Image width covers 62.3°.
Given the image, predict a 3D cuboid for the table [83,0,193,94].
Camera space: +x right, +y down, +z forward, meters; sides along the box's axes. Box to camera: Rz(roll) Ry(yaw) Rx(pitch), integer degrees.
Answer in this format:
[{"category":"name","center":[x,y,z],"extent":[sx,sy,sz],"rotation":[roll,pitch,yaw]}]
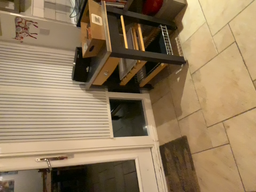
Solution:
[{"category":"table","center":[0.040,-0.440,2.210],"extent":[0.790,0.790,0.530],"rotation":[-42,51,55]}]
